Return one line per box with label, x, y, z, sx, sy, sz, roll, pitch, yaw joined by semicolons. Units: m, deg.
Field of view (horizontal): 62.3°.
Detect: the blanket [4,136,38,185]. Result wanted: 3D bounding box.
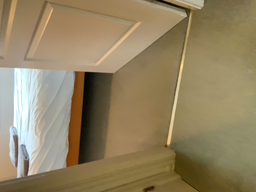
blanket;-1.170;0.680;2.300;0.450;0.480;0.100;-7;174;33
